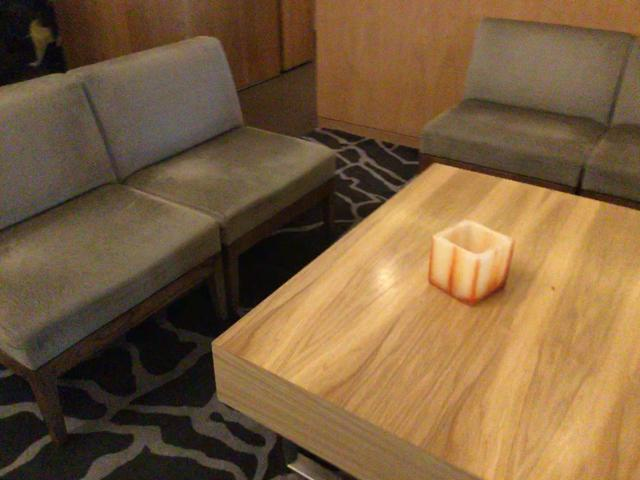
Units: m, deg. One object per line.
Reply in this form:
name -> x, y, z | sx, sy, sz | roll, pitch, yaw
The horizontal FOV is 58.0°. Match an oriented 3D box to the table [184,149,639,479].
table -> 0.460, 0.270, 1.610 | 0.970, 0.510, 1.250 | 17, 35, 30
